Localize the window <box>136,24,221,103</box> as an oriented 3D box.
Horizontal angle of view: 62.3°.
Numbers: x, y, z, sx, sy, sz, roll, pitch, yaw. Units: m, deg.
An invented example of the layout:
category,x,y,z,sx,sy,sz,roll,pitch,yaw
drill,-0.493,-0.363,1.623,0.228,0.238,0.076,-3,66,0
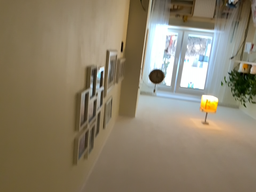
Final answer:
category,x,y,z,sx,sy,sz,roll,pitch,yaw
window,1.020,-0.690,4.570,1.530,1.470,0.280,8,-167,3
